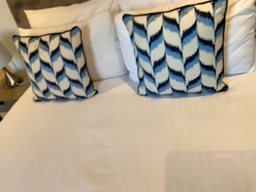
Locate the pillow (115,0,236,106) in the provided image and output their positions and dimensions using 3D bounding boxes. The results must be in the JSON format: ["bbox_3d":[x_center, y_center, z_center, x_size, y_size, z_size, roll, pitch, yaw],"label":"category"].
[{"bbox_3d":[0.230,-0.190,1.000,0.440,0.370,0.190,-11,30,22],"label":"pillow"}]

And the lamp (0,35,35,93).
[{"bbox_3d":[-1.080,-0.270,1.830,0.250,0.360,0.310,-3,41,20],"label":"lamp"}]

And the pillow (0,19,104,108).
[{"bbox_3d":[-0.440,-0.170,1.250,0.430,0.380,0.210,-10,28,25],"label":"pillow"}]
